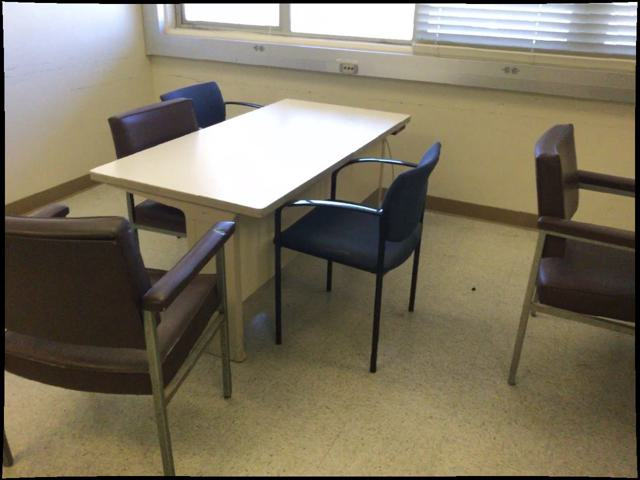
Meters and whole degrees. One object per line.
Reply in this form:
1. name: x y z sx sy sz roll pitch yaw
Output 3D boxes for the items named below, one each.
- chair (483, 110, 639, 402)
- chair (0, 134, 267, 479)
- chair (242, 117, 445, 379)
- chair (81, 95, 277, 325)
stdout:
1. chair: 1.007 0.020 2.060 0.609 0.752 0.650 13 30 22
2. chair: -0.608 0.211 1.700 0.718 0.832 0.630 6 28 11
3. chair: 0.100 0.000 2.310 0.589 0.792 0.530 13 30 22
4. chair: -0.578 -0.160 2.570 0.569 0.792 0.530 13 30 22
